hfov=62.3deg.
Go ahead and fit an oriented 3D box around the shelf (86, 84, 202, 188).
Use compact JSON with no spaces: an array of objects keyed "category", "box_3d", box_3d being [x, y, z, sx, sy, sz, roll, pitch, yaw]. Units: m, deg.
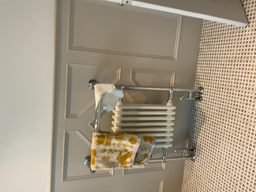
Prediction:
[{"category":"shelf","box_3d":[0.110,0.270,1.620,0.280,0.770,0.660,-151,64,-66]}]
